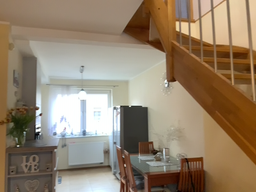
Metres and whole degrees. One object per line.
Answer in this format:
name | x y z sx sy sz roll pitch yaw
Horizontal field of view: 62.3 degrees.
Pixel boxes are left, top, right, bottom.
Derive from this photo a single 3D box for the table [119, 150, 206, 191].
table | 0.460 1.430 3.530 0.900 0.760 1.450 1 -5 -16
